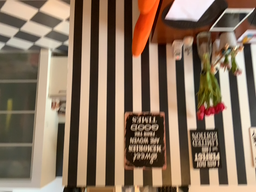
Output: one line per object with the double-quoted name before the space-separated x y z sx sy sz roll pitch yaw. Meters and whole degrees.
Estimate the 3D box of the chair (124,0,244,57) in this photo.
"chair" 0.280 -0.780 1.340 0.580 0.960 0.410 0 170 -5
